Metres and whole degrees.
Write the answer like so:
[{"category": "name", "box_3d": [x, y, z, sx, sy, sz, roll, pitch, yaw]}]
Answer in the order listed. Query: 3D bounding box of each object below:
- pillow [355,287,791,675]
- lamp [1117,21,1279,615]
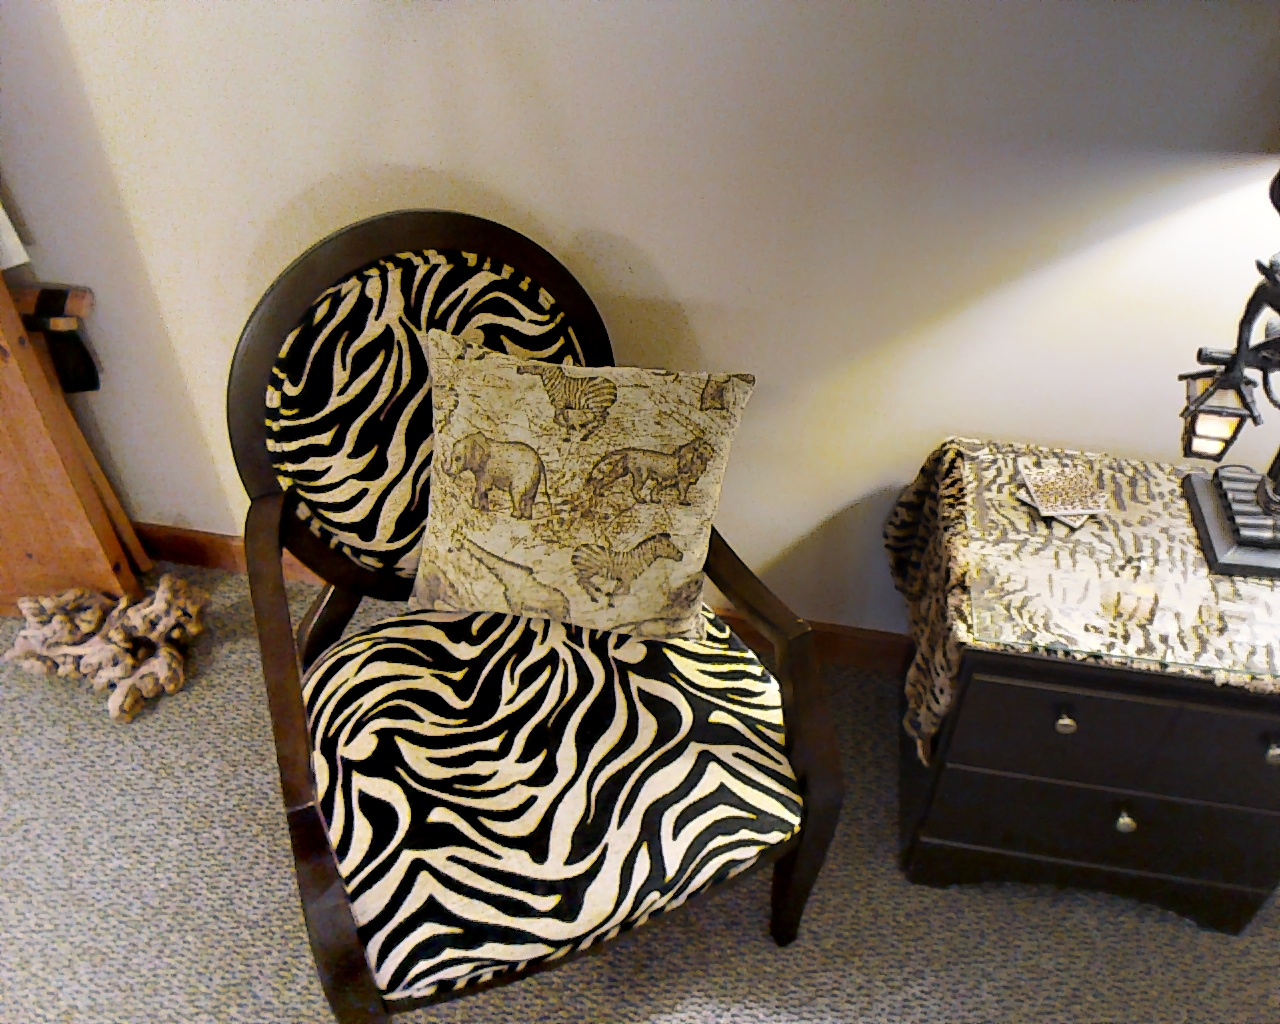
[{"category": "pillow", "box_3d": [-0.100, -0.020, 1.440, 0.460, 0.390, 0.130, 24, 44, -9]}, {"category": "lamp", "box_3d": [0.850, -0.250, 1.240, 0.320, 0.740, 0.330, 8, 44, 8]}]
